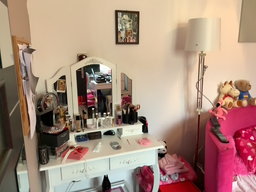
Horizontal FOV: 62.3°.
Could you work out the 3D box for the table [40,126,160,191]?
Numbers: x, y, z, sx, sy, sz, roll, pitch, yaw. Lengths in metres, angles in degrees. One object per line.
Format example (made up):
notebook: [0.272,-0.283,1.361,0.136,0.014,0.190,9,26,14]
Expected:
table: [-0.230,0.740,1.790,0.840,0.760,0.480,-4,14,-15]
